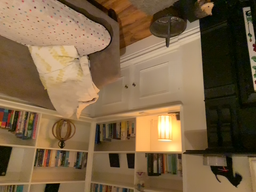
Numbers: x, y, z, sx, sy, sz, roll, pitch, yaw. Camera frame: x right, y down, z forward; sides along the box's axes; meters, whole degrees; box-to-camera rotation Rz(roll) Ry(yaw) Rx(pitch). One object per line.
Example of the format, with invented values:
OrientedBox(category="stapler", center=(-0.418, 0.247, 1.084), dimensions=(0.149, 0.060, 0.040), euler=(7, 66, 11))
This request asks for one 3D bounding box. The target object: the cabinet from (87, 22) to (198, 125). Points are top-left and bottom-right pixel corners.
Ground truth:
OrientedBox(category="cabinet", center=(0.120, -0.170, 2.640), dimensions=(1.330, 0.910, 0.430), euler=(-12, 158, 41))

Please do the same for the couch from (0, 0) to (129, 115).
OrientedBox(category="couch", center=(-1.040, -0.510, 1.700), dimensions=(1.090, 0.900, 1.850), euler=(-12, 158, 41))

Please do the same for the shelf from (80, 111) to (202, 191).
OrientedBox(category="shelf", center=(0.030, 1.260, 2.340), dimensions=(1.530, 2.000, 0.280), euler=(-12, 158, 41))
